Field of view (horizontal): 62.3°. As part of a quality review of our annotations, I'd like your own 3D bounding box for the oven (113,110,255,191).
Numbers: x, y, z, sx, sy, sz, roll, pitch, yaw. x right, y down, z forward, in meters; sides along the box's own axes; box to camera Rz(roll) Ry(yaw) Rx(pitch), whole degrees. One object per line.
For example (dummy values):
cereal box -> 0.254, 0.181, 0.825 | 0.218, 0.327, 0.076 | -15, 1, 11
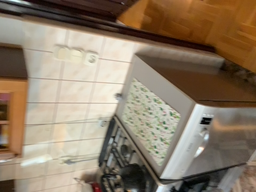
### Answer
oven -> 0.380, 0.520, 1.620 | 0.660, 0.680, 0.520 | 50, 130, 46
